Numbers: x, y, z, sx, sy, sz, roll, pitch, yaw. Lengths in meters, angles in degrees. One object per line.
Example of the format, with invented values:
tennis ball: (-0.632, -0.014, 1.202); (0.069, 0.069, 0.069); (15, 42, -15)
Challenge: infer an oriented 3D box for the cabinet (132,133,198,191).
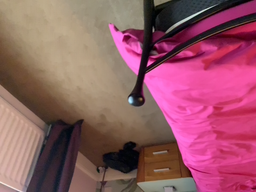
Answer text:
cabinet: (0.390, 0.720, 2.230); (0.560, 0.400, 0.460); (-12, 138, 16)
